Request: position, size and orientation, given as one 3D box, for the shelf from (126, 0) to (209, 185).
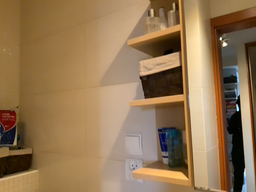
[{"bbox_3d":[0.130,-0.090,0.700,0.190,0.660,0.190,-4,-5,33],"label":"shelf"}]
